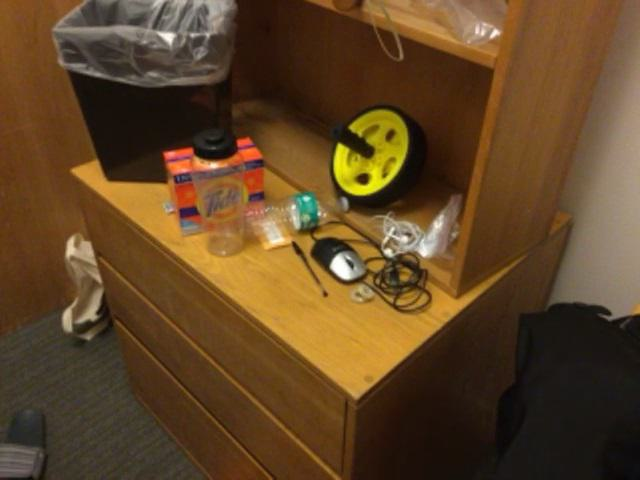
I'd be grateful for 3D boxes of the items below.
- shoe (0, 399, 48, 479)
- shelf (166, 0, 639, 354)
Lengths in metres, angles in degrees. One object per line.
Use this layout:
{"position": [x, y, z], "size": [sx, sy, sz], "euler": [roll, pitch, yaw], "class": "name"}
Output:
{"position": [-0.770, 0.560, 1.420], "size": [0.140, 0.110, 0.310], "euler": [-9, 36, -14], "class": "shoe"}
{"position": [0.060, -0.420, 0.980], "size": [0.280, 0.760, 0.960], "euler": [-23, 41, -30], "class": "shelf"}
